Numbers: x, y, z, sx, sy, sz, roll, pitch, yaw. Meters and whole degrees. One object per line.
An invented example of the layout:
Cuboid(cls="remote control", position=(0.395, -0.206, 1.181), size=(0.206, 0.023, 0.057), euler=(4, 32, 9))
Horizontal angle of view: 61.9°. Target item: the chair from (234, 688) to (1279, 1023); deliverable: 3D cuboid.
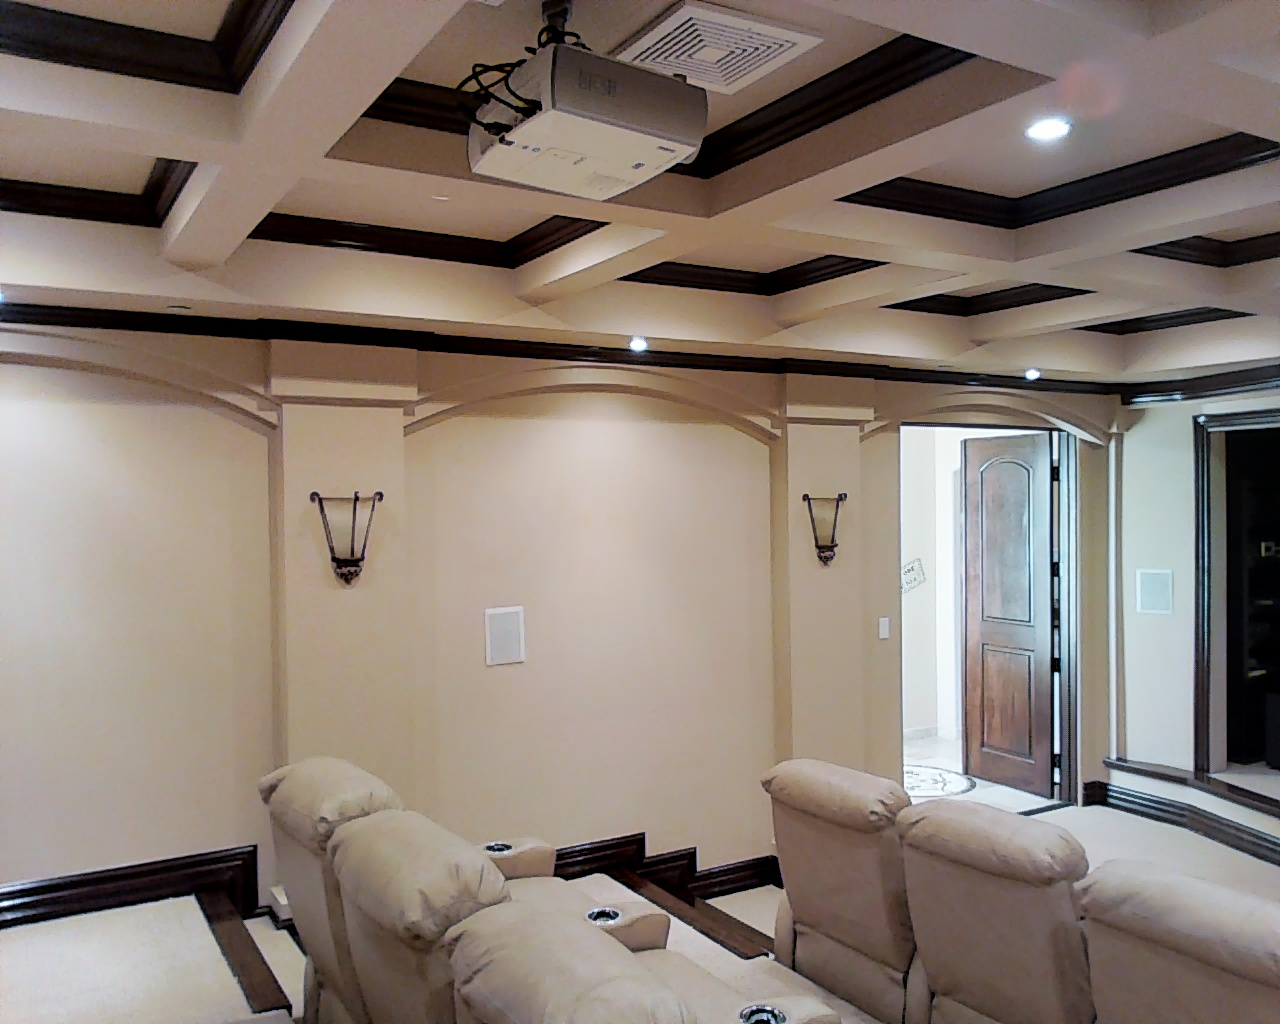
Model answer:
Cuboid(cls="chair", position=(0.030, 1.190, 2.290), size=(1.210, 1.100, 2.960), euler=(0, 0, -30))

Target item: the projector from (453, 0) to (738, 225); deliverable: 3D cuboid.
Cuboid(cls="projector", position=(-0.110, -0.840, 2.200), size=(0.390, 0.320, 0.530), euler=(0, 0, -29))
